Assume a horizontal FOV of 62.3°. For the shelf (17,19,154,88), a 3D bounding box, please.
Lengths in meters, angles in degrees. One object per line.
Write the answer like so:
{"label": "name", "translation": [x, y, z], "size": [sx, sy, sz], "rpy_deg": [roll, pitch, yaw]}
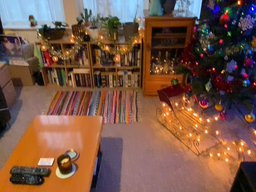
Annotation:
{"label": "shelf", "translation": [-0.470, -0.540, 2.700], "size": [1.510, 0.740, 0.410], "rpy_deg": [2, 32, 2]}

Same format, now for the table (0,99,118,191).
{"label": "table", "translation": [-0.380, 0.490, 1.330], "size": [0.540, 0.400, 1.080], "rpy_deg": [2, 32, 2]}
